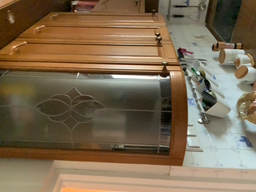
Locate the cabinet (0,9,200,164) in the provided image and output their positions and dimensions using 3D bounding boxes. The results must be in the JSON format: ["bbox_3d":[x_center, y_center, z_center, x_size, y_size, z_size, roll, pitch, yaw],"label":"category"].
[{"bbox_3d":[-0.240,-0.210,1.310,1.200,1.030,0.320,-84,-4,-54],"label":"cabinet"}]
